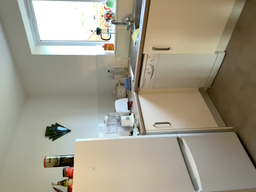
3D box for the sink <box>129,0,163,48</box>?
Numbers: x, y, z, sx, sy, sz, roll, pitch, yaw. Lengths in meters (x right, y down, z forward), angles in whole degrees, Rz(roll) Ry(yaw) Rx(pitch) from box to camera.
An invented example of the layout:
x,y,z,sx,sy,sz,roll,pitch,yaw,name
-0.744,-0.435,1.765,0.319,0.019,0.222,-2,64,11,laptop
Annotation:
x,y,z,sx,sy,sz,roll,pitch,yaw,name
0.150,-0.830,2.020,0.540,0.170,0.520,-101,12,-45,sink
